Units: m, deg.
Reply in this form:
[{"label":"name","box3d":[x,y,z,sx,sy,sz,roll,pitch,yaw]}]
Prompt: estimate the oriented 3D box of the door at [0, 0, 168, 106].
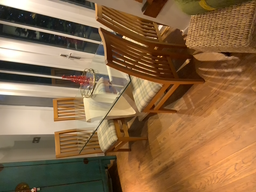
[{"label":"door","box3d":[-0.770,-0.460,2.670,1.770,1.920,0.170,-52,44,43]}]
